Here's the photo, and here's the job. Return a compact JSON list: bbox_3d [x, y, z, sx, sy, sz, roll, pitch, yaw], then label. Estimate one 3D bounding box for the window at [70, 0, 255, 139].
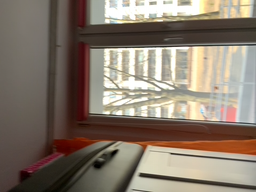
[{"bbox_3d":[0.310,-0.420,1.580,0.130,1.550,1.380,-8,-81,-77],"label":"window"}]
